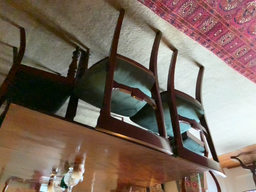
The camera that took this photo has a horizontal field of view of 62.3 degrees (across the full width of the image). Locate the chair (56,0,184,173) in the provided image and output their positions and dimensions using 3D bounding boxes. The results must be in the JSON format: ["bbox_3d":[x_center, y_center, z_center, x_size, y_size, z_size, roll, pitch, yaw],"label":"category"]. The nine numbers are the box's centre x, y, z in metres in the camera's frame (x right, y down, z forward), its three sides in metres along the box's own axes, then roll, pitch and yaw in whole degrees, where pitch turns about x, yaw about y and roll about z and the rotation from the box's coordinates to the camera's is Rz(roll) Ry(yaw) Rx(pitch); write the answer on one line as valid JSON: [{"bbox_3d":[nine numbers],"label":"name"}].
[{"bbox_3d":[-0.050,-0.050,1.350,0.480,0.870,0.500,21,141,-24],"label":"chair"}]

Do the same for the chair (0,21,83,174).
[{"bbox_3d":[-0.660,0.010,1.480,0.460,0.870,0.470,15,143,-17],"label":"chair"}]
